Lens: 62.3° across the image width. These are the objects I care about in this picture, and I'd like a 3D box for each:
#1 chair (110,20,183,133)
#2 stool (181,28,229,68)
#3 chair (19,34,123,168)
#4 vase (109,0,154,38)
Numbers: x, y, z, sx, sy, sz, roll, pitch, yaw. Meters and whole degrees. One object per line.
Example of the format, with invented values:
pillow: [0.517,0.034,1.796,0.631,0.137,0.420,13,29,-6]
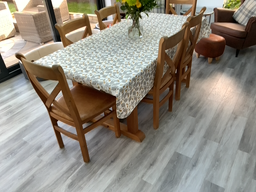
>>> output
chair: [0.190,-0.190,2.080,0.470,0.930,0.440,18,40,29]
stool: [1.160,-0.760,3.290,0.350,0.390,0.580,-18,37,-20]
chair: [-0.410,0.040,1.800,0.460,0.930,0.490,20,41,31]
vase: [0.040,-0.890,2.030,0.320,0.550,0.290,21,41,31]
